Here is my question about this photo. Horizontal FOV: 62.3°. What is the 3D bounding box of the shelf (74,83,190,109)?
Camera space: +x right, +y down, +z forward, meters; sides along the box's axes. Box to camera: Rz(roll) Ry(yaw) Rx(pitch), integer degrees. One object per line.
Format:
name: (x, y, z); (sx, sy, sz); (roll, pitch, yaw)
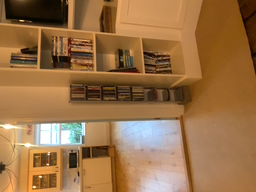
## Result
shelf: (0.060, 0.010, 2.180); (0.210, 1.180, 0.200); (140, 128, -67)

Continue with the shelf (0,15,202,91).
shelf: (-0.290, -0.340, 2.030); (0.470, 1.940, 0.450); (140, 128, -67)
